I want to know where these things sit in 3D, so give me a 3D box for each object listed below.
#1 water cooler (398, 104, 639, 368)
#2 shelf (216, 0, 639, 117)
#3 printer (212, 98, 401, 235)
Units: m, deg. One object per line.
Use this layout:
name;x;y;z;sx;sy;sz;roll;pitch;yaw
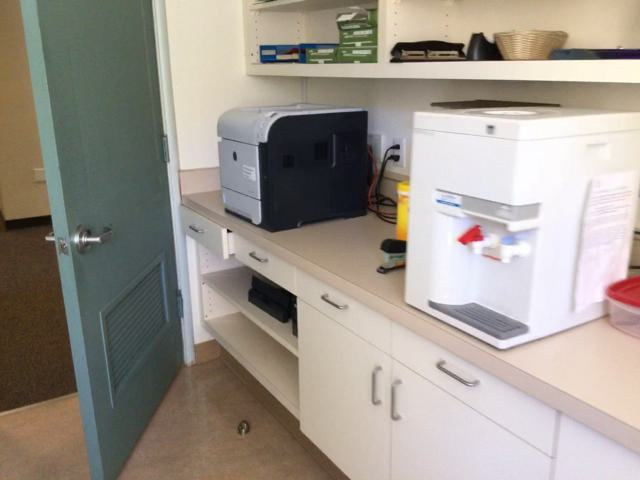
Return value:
water cooler;0.470;-0.050;1.280;0.450;0.450;0.340;-10;21;-30
shelf;0.270;-0.880;1.740;0.460;0.810;1.960;-10;21;-30
printer;-0.060;-0.310;2.200;0.550;0.410;0.440;-10;21;-30
